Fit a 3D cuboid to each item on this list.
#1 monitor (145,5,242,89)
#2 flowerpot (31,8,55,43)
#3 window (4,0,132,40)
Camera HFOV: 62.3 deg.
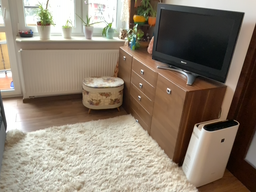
[{"bbox_3d":[0.500,-0.470,1.890,0.040,0.570,0.840,-17,33,-39],"label":"monitor"},{"bbox_3d":[-1.050,-0.880,2.640,0.240,0.370,0.240,-3,27,-18],"label":"flowerpot"},{"bbox_3d":[-0.680,-1.460,2.650,1.600,1.480,0.110,-6,28,-22],"label":"window"}]
